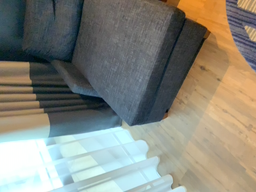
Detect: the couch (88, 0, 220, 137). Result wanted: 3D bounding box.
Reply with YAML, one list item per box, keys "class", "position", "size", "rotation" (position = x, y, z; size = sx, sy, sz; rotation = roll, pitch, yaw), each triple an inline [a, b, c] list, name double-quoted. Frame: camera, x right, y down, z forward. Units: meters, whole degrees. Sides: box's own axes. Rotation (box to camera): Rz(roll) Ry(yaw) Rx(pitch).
- class: "couch"
  position: [0.140, -0.230, 1.590]
  size: [0.490, 0.510, 0.880]
  rotation: [45, 124, 40]
